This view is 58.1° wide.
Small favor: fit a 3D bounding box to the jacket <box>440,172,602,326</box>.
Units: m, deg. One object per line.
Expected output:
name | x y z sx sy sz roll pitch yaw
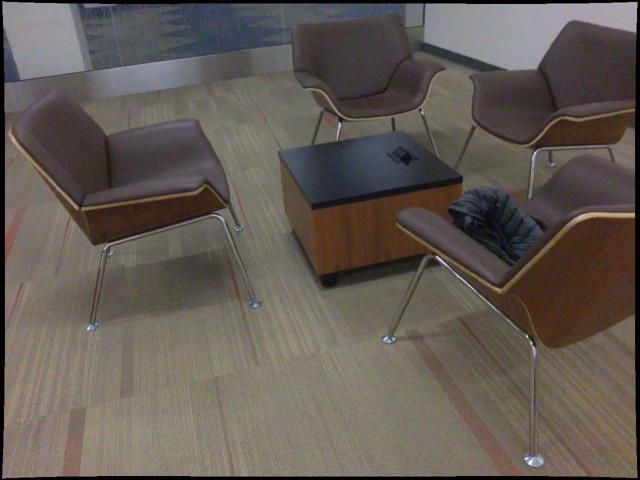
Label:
jacket | 0.549 0.010 1.650 0.239 0.240 0.380 -14 32 -15
